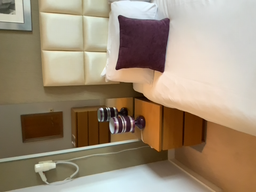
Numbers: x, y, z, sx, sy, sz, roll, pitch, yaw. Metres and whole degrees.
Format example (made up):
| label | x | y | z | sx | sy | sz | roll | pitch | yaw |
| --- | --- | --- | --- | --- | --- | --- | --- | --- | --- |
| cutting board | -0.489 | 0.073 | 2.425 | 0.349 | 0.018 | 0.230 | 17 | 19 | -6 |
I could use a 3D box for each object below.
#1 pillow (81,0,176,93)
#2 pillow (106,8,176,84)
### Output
| label | x | y | z | sx | sy | sz | roll | pitch | yaw |
| --- | --- | --- | --- | --- | --- | --- | --- | --- | --- |
| pillow | 0.010 | -0.440 | 1.790 | 0.650 | 0.470 | 0.200 | -54 | 27 | -2 |
| pillow | 0.100 | -0.380 | 1.660 | 0.440 | 0.360 | 0.190 | -67 | 27 | 6 |
